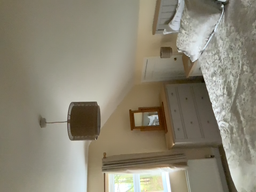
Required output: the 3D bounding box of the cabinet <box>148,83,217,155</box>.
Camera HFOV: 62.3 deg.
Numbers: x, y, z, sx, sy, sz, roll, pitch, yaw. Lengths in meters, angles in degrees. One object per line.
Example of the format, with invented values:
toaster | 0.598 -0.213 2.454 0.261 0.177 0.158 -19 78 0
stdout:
cabinet | 0.900 0.390 3.750 0.440 0.900 1.120 93 173 -62
